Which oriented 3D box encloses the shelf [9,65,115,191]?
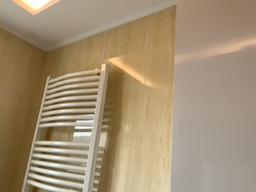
[{"bbox_3d":[-0.390,0.330,1.170,0.580,0.920,0.140,-7,-22,37],"label":"shelf"}]
